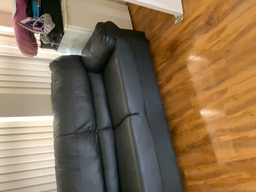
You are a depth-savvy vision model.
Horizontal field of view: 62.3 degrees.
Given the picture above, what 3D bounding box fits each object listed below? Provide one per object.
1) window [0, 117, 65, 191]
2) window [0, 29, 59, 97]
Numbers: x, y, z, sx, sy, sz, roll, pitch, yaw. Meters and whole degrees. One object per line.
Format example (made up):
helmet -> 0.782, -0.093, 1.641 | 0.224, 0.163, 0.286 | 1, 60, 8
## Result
window -> -1.250, 0.630, 2.000 | 0.030, 1.230, 0.860 | -39, 57, 51
window -> -1.420, -0.390, 2.350 | 0.020, 1.210, 0.840 | -37, 58, 52
